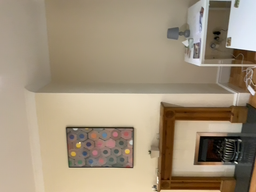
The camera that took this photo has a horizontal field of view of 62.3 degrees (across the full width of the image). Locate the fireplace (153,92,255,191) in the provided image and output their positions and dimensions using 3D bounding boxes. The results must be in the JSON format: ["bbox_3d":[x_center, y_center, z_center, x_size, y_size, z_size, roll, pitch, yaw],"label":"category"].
[{"bbox_3d":[0.970,0.740,2.910,0.640,1.130,1.480,-90,0,-75],"label":"fireplace"}]
